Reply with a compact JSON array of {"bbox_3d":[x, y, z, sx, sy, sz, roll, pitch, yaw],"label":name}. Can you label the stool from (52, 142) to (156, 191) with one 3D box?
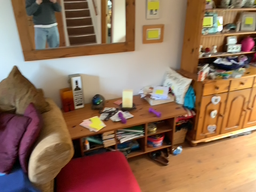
[{"bbox_3d":[-0.220,0.750,1.700,0.680,0.350,0.590,-8,26,-17],"label":"stool"}]
